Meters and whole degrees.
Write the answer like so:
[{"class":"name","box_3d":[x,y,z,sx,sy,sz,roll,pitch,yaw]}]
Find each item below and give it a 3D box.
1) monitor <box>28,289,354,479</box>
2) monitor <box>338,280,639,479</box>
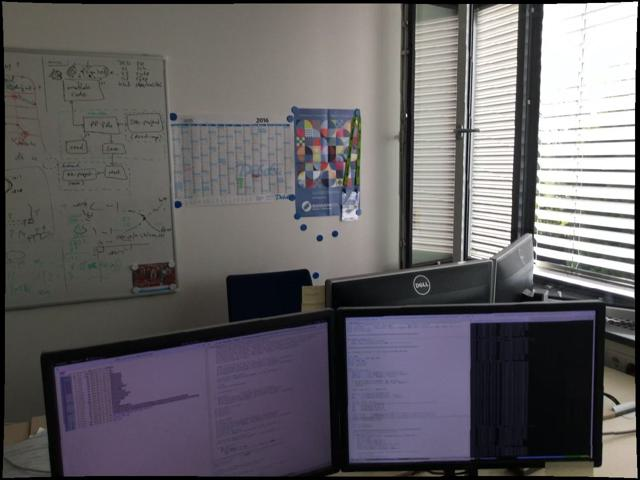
[{"class":"monitor","box_3d":[-0.220,0.400,1.120,0.560,0.521,0.150,-6,11,-23]},{"class":"monitor","box_3d":[0.340,0.370,1.250,0.589,0.521,0.200,-1,10,1]}]
